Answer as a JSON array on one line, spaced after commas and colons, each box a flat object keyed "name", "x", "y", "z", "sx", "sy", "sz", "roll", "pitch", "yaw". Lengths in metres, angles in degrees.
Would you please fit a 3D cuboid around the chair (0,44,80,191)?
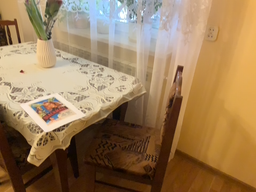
[{"name": "chair", "x": -0.650, "y": 0.210, "z": 1.340, "sx": 0.430, "sy": 0.910, "sz": 0.470, "roll": 23, "pitch": 35, "yaw": 30}]

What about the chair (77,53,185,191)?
[{"name": "chair", "x": 0.020, "y": 0.270, "z": 1.330, "sx": 0.480, "sy": 0.920, "sz": 0.420, "roll": 10, "pitch": 30, "yaw": 9}]
